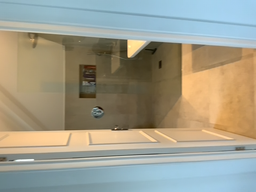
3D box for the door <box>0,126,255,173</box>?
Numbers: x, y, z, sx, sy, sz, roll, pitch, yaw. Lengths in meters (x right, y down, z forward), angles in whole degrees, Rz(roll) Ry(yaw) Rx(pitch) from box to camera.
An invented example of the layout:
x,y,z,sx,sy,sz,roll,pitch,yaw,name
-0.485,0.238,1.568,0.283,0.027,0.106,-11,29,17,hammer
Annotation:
x,y,z,sx,sy,sz,roll,pitch,yaw,name
-0.040,0.330,1.560,0.940,1.900,0.070,175,96,-77,door
